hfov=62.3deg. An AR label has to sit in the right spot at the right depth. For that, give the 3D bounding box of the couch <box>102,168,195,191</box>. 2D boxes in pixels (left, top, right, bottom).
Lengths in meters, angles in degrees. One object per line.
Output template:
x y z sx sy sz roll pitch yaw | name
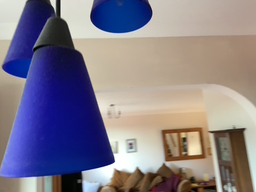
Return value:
0.410 2.210 4.790 1.910 0.850 1.010 -3 -11 -6 | couch
